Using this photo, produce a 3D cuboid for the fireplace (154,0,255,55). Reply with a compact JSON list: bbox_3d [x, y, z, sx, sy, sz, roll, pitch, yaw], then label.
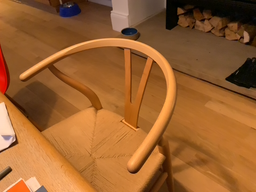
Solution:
[{"bbox_3d":[0.790,-0.980,1.870,1.010,0.820,0.510,29,53,32],"label":"fireplace"}]
